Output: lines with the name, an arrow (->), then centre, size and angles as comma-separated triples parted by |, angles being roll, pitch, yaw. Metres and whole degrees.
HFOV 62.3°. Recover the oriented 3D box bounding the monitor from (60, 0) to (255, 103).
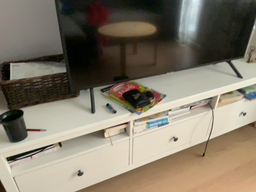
monitor -> 0.260, -0.390, 1.060 | 1.130, 0.700, 0.050 | -13, 35, -20
